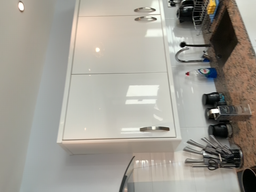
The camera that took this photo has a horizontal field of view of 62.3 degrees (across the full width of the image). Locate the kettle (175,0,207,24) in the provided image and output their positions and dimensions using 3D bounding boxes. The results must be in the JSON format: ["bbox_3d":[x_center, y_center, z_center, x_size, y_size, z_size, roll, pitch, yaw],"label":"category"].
[{"bbox_3d":[0.610,-0.830,2.070,0.160,0.250,0.170,88,-179,-64],"label":"kettle"}]
